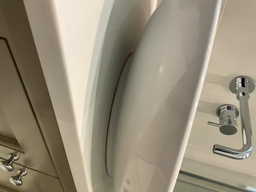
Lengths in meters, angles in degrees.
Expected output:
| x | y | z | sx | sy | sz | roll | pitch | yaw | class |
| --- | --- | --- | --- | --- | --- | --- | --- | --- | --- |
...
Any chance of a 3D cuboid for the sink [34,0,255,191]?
| x | y | z | sx | sy | sz | roll | pitch | yaw | class |
| --- | --- | --- | --- | --- | --- | --- | --- | --- | --- |
| 0.050 | 0.060 | 0.450 | 0.400 | 0.120 | 0.590 | -65 | 165 | -45 | sink |
